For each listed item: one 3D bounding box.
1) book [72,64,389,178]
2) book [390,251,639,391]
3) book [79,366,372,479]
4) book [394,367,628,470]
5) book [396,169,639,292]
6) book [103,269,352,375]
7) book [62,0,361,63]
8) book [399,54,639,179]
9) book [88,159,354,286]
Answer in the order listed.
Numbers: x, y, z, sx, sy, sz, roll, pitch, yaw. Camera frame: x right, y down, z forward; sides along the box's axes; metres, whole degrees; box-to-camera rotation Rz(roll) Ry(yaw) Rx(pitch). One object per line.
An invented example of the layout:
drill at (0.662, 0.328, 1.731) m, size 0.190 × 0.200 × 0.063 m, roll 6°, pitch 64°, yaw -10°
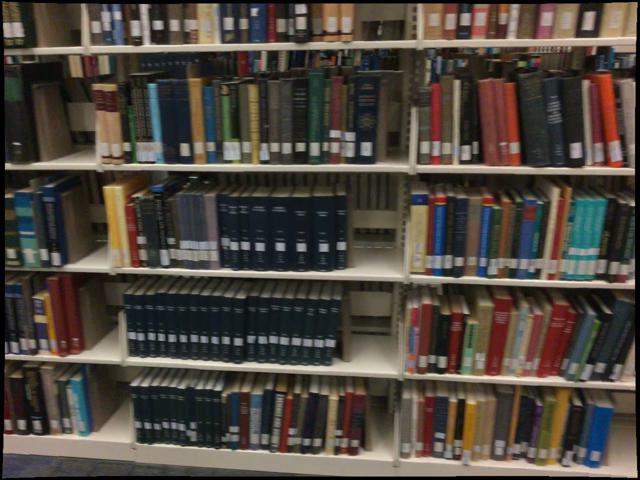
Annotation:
book at (-0.239, -0.361, 1.730) m, size 0.878 × 0.291 × 0.250 m, roll 0°, pitch 19°, yaw 5°
book at (0.698, 0.251, 1.880) m, size 0.918 × 0.341 × 0.310 m, roll 0°, pitch 19°, yaw 5°
book at (-0.309, 0.642, 2.020) m, size 0.977 × 0.331 × 0.170 m, roll 0°, pitch 19°, yaw 5°
book at (0.608, 0.592, 1.930) m, size 0.708 × 0.271 × 0.160 m, roll 0°, pitch 19°, yaw 5°
book at (0.618, -0.040, 1.790) m, size 0.738 × 0.291 × 0.320 m, roll 0°, pitch 19°, yaw 5°
book at (-0.289, 0.271, 1.980) m, size 0.788 × 0.261 × 0.260 m, roll 0°, pitch 19°, yaw 5°
book at (-0.289, -0.642, 1.590) m, size 0.798 × 0.271 × 0.140 m, roll 0°, pitch 19°, yaw 5°
book at (0.698, -0.361, 1.650) m, size 0.918 × 0.311 × 0.270 m, roll 0°, pitch 19°, yaw 5°
book at (-0.279, -0.080, 1.970) m, size 0.778 × 0.291 × 0.510 m, roll 0°, pitch 19°, yaw 5°
